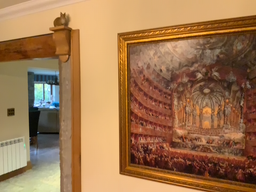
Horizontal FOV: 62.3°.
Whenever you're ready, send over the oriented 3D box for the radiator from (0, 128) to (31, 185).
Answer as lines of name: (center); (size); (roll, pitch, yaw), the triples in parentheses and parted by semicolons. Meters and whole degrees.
radiator: (-2.210, 1.090, 3.850); (0.230, 0.860, 0.860); (2, 3, 23)
